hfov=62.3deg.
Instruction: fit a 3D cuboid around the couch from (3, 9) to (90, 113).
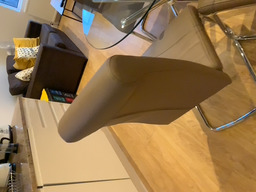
[{"bbox_3d":[-1.470,-0.640,3.540,1.660,0.870,1.020,45,117,48],"label":"couch"}]
